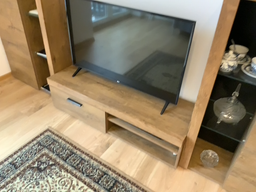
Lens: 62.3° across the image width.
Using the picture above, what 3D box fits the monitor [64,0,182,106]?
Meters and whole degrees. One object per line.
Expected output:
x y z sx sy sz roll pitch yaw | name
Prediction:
-0.100 -0.350 1.570 0.930 0.590 0.060 25 42 27 | monitor
